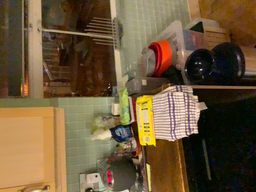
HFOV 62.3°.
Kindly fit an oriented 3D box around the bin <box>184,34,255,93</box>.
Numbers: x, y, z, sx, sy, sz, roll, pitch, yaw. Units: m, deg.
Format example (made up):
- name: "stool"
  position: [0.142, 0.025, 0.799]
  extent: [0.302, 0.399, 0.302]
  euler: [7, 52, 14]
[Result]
- name: "bin"
  position: [0.670, -0.170, 1.280]
  extent: [0.240, 0.590, 0.260]
  euler: [156, 110, -65]
